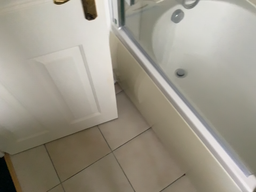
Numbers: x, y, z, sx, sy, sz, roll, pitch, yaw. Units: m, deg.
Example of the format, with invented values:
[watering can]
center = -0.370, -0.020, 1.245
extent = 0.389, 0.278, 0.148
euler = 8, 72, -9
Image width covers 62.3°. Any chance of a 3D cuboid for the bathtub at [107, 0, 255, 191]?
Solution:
[bathtub]
center = 0.660, 0.270, 1.020
extent = 0.720, 0.560, 1.750
euler = -28, 66, -14
